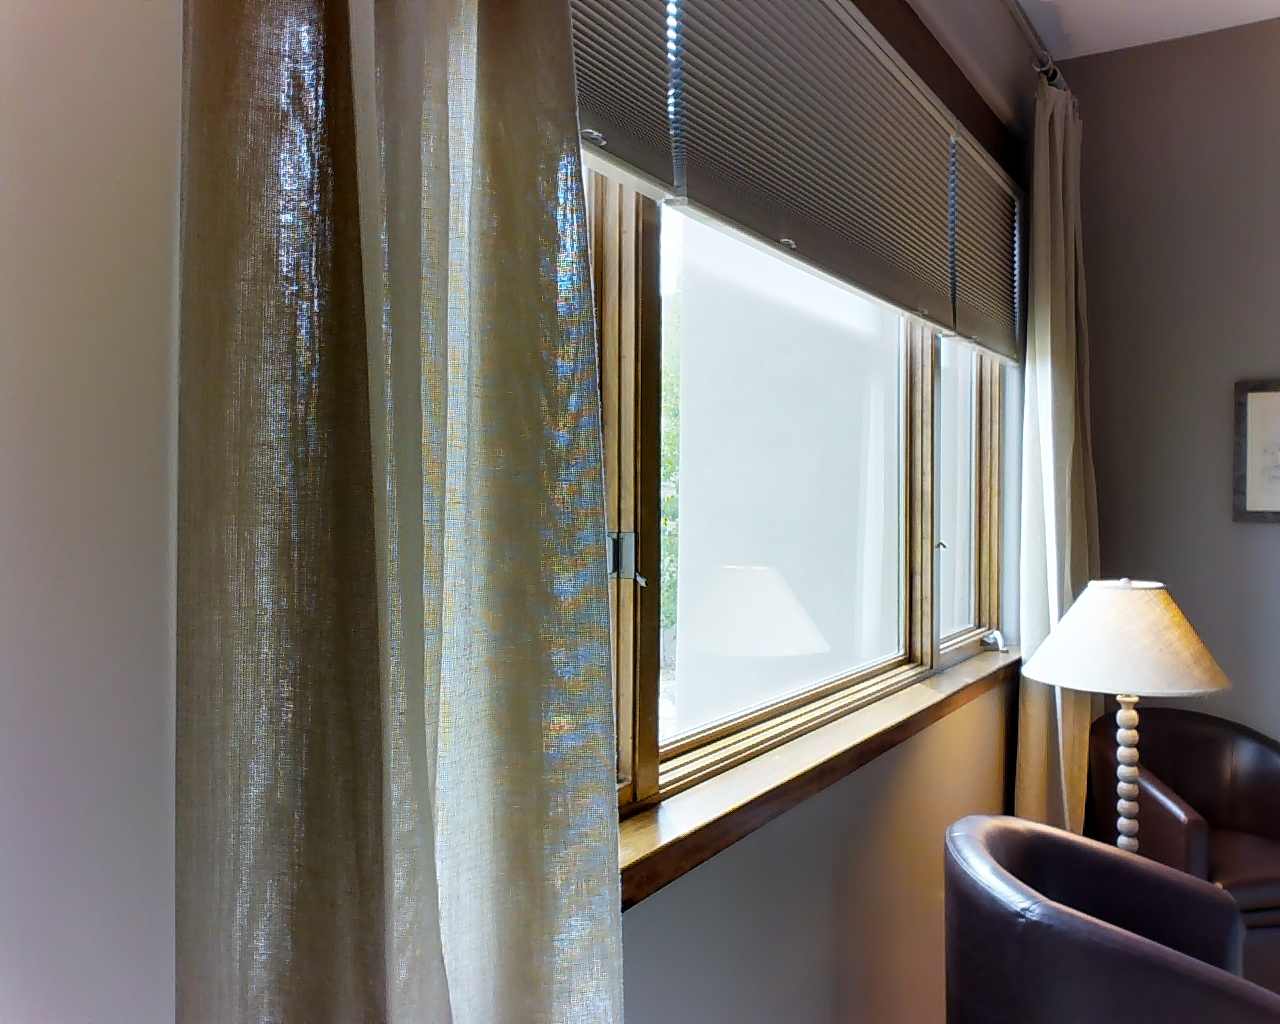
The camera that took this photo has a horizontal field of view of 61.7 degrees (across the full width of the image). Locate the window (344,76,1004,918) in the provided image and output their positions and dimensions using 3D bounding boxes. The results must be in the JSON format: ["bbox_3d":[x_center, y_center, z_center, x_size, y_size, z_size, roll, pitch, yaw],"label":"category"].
[{"bbox_3d":[0.410,-0.020,2.320,0.150,0.900,2.650,1,1,31],"label":"window"}]
